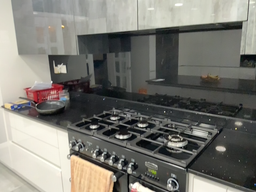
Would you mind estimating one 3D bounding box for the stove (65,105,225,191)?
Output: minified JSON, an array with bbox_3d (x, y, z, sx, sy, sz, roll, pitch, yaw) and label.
[{"bbox_3d":[0.110,0.280,1.490,0.900,0.170,0.650,8,16,37],"label":"stove"}]
